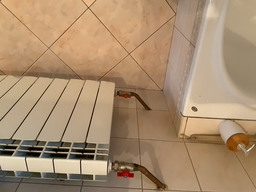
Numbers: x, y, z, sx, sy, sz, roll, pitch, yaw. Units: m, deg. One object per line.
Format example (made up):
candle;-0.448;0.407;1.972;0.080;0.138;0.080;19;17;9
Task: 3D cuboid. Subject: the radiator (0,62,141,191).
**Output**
radiator;-0.430;0.070;0.940;0.920;0.740;0.170;2;119;-2
